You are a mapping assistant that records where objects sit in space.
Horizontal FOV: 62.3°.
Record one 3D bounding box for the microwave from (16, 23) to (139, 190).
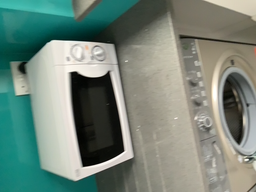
[{"bbox_3d":[-0.210,0.040,0.800,0.340,0.240,0.480,-16,85,49],"label":"microwave"}]
